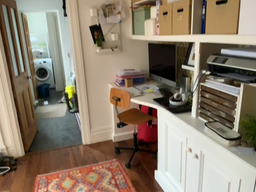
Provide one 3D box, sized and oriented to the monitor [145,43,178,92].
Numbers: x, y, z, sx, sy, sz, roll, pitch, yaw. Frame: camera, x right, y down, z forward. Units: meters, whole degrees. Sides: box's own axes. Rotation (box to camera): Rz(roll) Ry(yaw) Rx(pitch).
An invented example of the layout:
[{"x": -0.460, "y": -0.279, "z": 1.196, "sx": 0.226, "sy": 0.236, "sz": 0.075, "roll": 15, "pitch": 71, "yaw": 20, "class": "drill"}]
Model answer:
[{"x": 0.380, "y": -0.370, "z": 2.530, "sx": 0.050, "sy": 0.480, "sz": 0.700, "roll": -10, "pitch": 19, "yaw": -17, "class": "monitor"}]
